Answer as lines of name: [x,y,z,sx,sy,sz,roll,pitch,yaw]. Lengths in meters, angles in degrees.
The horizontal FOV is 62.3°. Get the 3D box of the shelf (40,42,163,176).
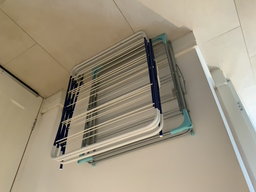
shelf: [-0.150,0.060,1.270,0.620,0.650,0.180,-22,133,21]
